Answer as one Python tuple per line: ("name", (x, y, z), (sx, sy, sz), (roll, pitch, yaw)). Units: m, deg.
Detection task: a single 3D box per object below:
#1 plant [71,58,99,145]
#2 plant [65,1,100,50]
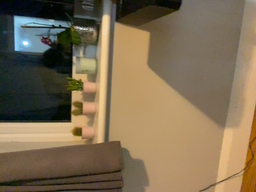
("plant", (-0.220, 0.020, 1.050), (0.150, 0.110, 0.400), (-153, 66, -73))
("plant", (-0.220, -0.320, 1.000), (0.190, 0.140, 0.170), (-161, 73, -74))
